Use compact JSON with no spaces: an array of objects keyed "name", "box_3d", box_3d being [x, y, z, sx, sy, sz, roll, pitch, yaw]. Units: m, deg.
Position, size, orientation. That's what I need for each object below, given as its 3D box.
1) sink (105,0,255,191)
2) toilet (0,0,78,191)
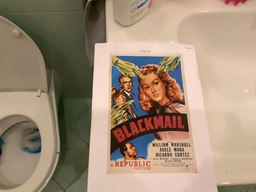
[{"name":"sink","box_3d":[0.370,-0.060,0.490,0.830,0.130,0.500,-2,70,-2]},{"name":"toilet","box_3d":[-0.460,0.140,0.840,0.340,0.820,0.560,-2,70,-2]}]
